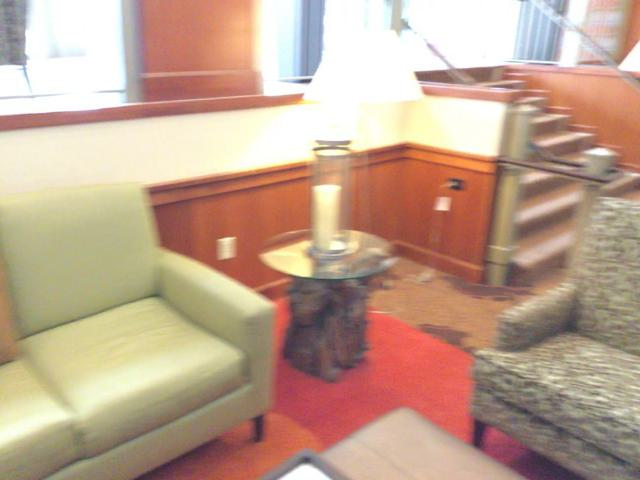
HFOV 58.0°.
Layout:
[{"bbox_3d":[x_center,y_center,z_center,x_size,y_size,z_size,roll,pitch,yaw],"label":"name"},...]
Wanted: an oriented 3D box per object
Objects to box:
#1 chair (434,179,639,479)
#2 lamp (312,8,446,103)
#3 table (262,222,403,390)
[{"bbox_3d":[1.080,0.380,2.130,0.910,0.960,0.800,-12,24,-35],"label":"chair"},{"bbox_3d":[0.300,-0.940,2.940,0.560,0.410,0.370,-15,25,-39],"label":"lamp"},{"bbox_3d":[0.050,0.290,2.820,0.490,0.590,0.450,-15,25,-39],"label":"table"}]
